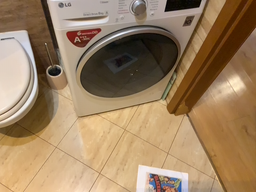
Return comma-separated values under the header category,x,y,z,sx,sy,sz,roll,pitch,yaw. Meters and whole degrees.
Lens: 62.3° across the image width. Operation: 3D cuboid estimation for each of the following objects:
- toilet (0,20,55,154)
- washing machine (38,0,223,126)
category,x,y,z,sx,sy,sz,roll,pitch,yaw
toilet,-0.660,-0.030,1.130,0.370,0.430,0.520,-13,63,-14
washing machine,-0.090,-0.360,1.190,0.630,0.860,0.650,-12,62,-14
